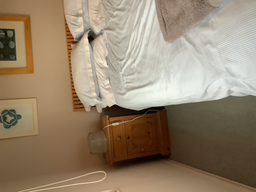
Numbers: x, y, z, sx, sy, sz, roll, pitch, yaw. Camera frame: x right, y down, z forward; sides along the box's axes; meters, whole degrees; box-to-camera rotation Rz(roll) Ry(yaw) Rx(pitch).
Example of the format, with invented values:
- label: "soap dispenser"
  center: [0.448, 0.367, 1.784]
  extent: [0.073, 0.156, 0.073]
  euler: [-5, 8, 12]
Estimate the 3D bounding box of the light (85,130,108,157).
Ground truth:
- label: "light"
  center: [-0.320, 0.460, 2.110]
  extent: [0.230, 0.170, 0.210]
  euler: [168, 96, -69]
